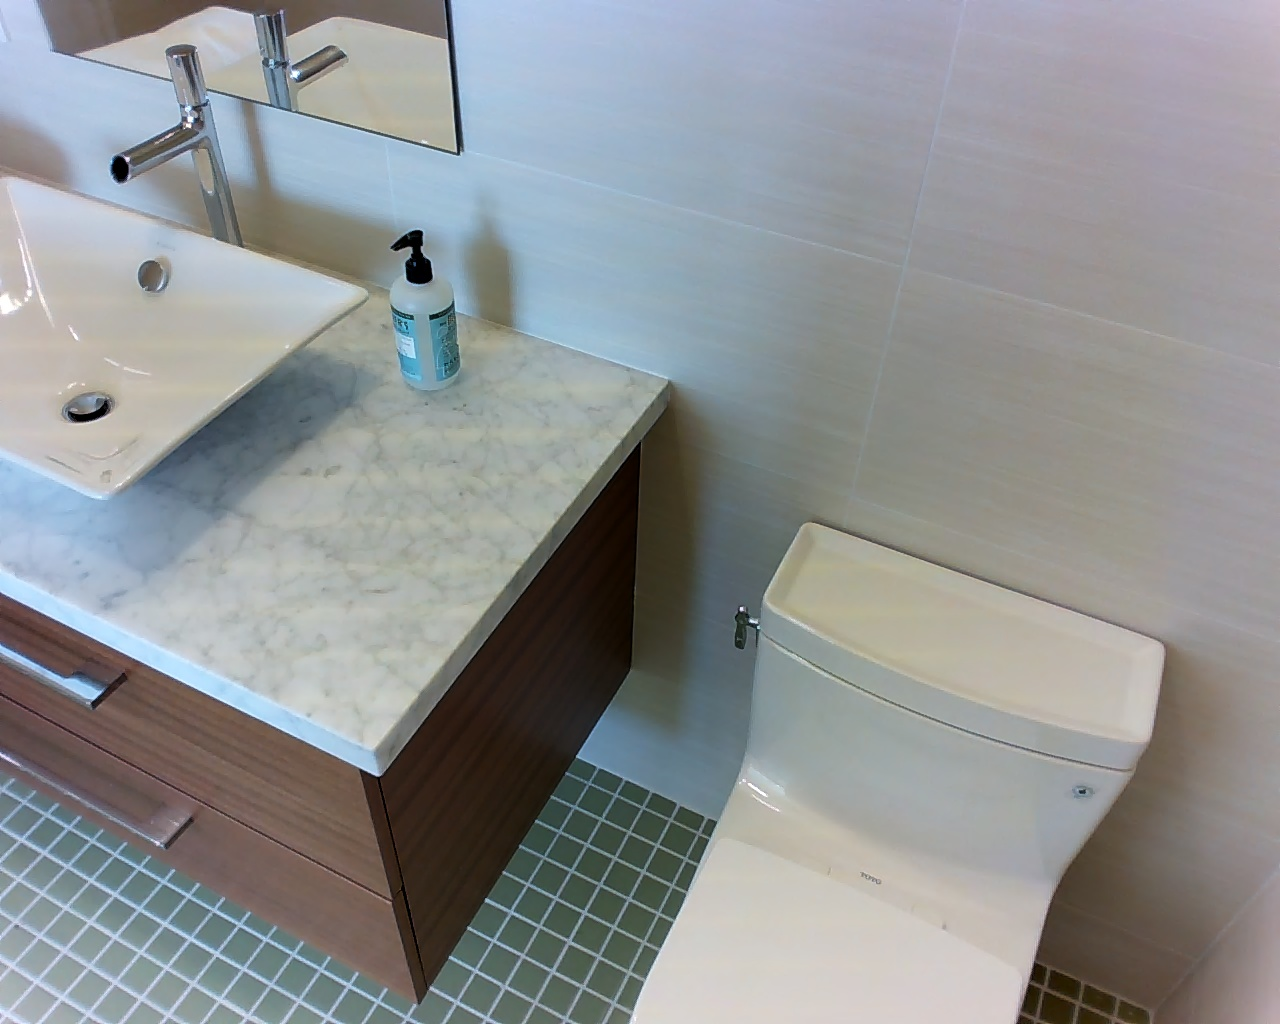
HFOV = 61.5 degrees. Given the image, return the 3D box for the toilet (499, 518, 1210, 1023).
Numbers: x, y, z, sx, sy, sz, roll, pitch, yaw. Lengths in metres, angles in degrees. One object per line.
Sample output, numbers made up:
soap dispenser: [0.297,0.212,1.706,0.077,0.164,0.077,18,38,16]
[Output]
toilet: [0.210,0.570,1.190,0.470,0.700,0.770,20,46,18]

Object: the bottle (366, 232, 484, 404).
bottle: [-0.230,-0.210,1.170,0.080,0.150,0.080,19,45,17]
